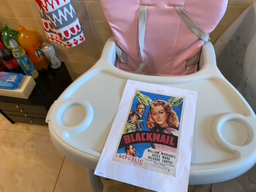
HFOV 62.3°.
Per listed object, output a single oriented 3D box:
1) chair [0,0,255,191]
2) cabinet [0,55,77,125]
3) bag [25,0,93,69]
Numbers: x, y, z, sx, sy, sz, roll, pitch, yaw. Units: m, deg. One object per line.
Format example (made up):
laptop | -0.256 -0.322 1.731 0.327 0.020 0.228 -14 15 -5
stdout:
chair | 0.110 0.060 0.890 0.620 1.030 0.620 7 56 9
cabinet | -0.630 -0.040 1.440 0.420 0.300 0.320 6 56 8
bag | -0.340 -0.440 0.930 0.190 0.800 0.110 11 57 11
